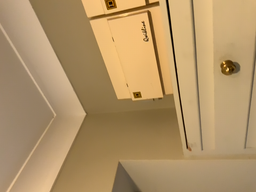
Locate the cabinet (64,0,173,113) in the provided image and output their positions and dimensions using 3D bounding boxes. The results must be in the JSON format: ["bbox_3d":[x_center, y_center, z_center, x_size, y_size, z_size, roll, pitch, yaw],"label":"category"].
[{"bbox_3d":[-0.040,-0.260,0.570,0.090,0.230,0.730,-75,-26,-50],"label":"cabinet"}]
